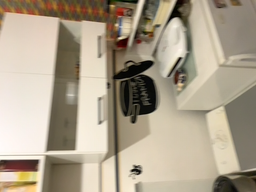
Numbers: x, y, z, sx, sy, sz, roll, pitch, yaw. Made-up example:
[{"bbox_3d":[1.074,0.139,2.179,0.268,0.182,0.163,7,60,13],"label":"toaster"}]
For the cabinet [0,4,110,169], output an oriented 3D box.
[{"bbox_3d":[-0.420,-0.060,1.220,0.330,0.580,0.860,112,157,-63],"label":"cabinet"}]
